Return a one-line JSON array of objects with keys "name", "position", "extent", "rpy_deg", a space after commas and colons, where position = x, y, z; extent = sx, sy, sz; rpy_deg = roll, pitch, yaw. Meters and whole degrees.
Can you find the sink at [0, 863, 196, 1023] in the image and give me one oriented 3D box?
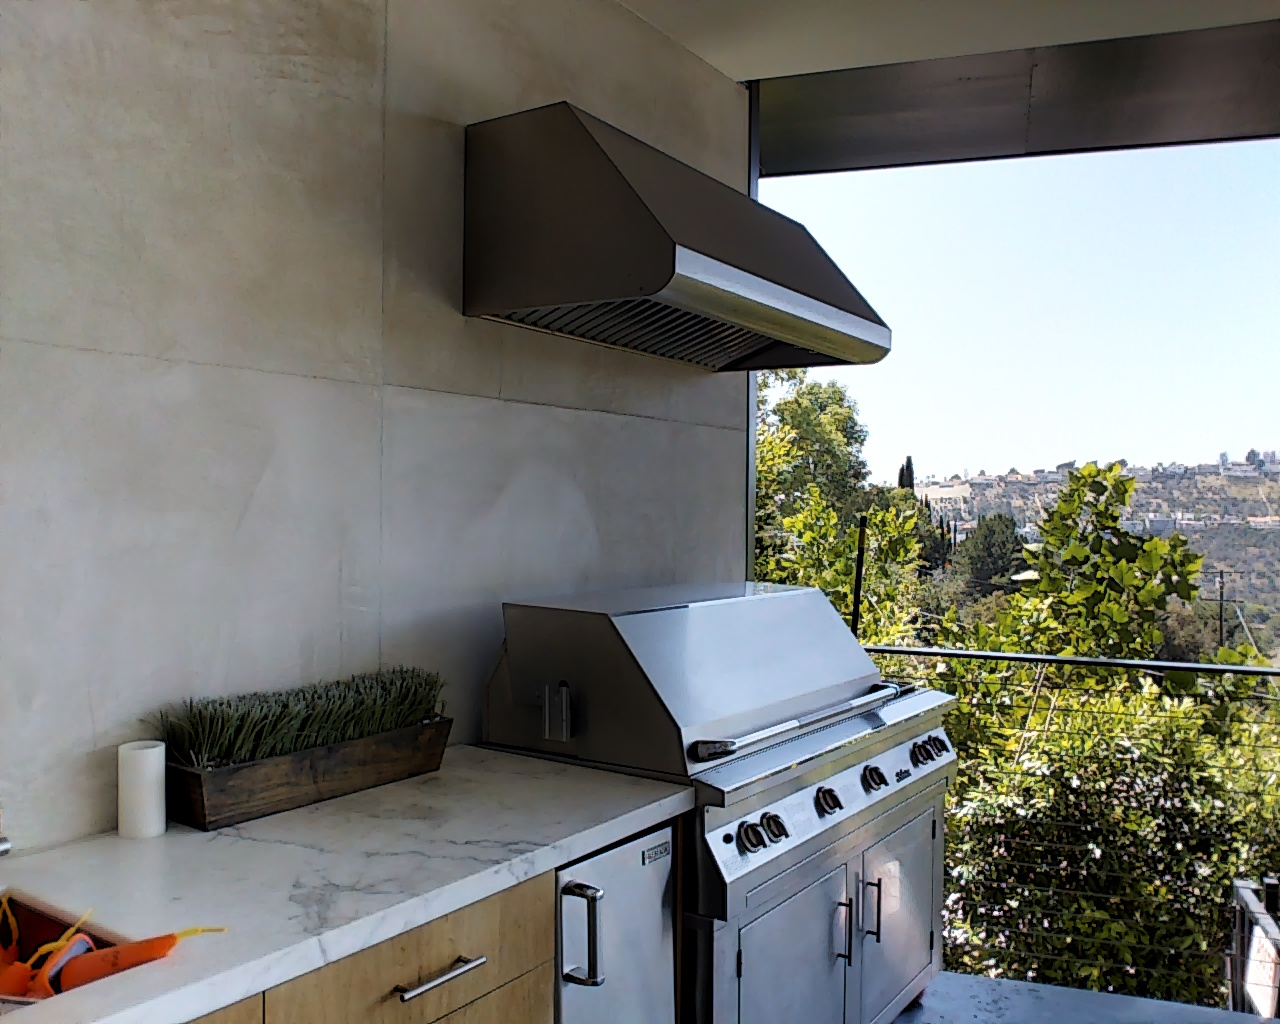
[{"name": "sink", "position": [-0.850, 0.570, 1.340], "extent": [0.430, 0.080, 0.380], "rpy_deg": [1, 0, 36]}]
